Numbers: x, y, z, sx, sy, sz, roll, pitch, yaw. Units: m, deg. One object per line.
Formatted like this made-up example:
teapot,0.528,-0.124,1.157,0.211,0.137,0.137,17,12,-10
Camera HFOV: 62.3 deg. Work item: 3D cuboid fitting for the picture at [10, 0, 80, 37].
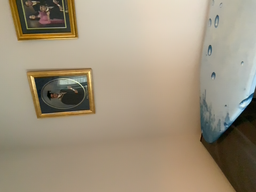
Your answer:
picture,-0.410,-0.480,1.040,0.030,0.310,0.360,-104,12,-60

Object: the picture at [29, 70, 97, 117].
picture,-0.380,-0.010,1.290,0.030,0.360,0.290,-104,12,-60
